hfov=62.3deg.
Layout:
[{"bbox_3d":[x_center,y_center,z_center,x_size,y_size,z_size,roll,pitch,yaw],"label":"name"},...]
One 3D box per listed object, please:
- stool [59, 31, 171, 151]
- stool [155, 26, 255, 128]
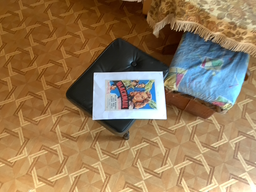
[{"bbox_3d":[-0.050,0.000,1.070,0.300,0.400,0.380,33,70,12],"label":"stool"},{"bbox_3d":[0.380,-0.080,1.130,0.340,0.360,0.310,22,68,8],"label":"stool"}]
